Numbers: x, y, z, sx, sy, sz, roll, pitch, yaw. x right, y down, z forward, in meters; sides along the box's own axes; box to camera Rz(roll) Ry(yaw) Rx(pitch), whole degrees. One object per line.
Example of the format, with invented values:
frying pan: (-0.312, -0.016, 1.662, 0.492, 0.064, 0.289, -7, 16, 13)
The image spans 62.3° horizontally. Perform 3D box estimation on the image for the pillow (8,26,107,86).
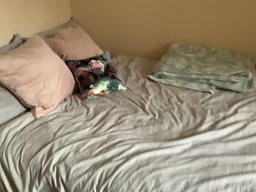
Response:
pillow: (-0.440, -0.290, 1.430, 0.480, 0.280, 0.360, 6, 28, 13)

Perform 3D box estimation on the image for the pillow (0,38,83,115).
pillow: (-0.530, -0.130, 1.140, 0.420, 0.270, 0.350, 7, 28, 15)

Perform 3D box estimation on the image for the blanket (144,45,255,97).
blanket: (0.540, -0.190, 1.390, 0.770, 0.130, 0.500, 7, 28, 16)
